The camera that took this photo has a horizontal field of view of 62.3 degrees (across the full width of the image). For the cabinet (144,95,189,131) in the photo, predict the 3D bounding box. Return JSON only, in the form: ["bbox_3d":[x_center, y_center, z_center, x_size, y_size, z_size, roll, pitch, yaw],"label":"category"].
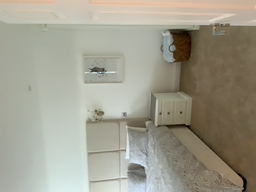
[{"bbox_3d":[0.660,0.290,3.810,0.600,0.610,0.440,-123,32,-73],"label":"cabinet"}]
